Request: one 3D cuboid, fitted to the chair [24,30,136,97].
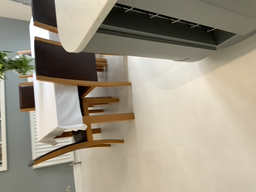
[{"bbox_3d":[-0.470,-0.260,2.060,0.540,0.900,0.400,-25,70,54],"label":"chair"}]

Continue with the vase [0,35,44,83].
[{"bbox_3d":[-1.180,-0.350,2.070,0.310,0.590,0.360,-31,65,53],"label":"vase"}]
